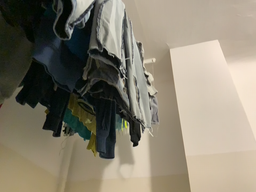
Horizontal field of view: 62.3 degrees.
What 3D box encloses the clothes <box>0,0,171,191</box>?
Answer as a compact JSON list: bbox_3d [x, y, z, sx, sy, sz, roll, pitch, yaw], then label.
[{"bbox_3d":[-0.180,-0.180,0.780,0.510,0.760,1.330,-7,-40,11],"label":"clothes"}]
